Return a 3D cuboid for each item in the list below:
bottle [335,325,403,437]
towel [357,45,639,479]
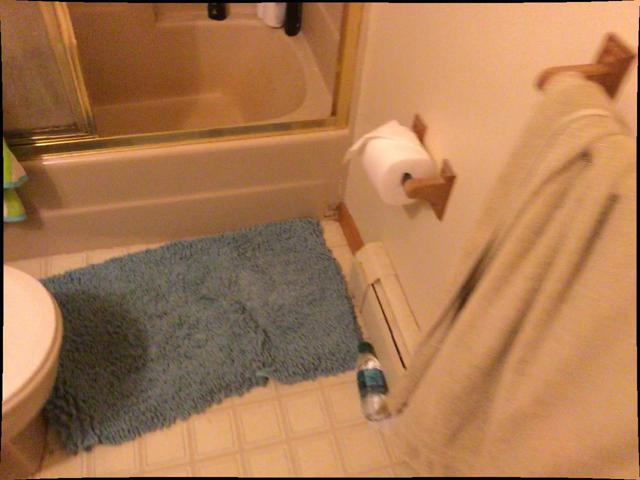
[{"bbox_3d":[0.120,0.360,1.480,0.090,0.120,0.240,-8,51,-13],"label":"bottle"},{"bbox_3d":[0.280,0.280,0.810,0.180,0.850,0.610,-8,51,-13],"label":"towel"}]
